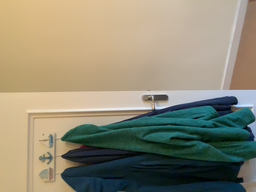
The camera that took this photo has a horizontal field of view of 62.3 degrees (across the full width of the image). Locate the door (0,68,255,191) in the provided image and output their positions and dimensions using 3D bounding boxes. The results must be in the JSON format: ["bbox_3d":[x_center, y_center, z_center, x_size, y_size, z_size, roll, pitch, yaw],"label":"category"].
[{"bbox_3d":[0.150,0.300,1.430,0.180,2.070,0.920,145,124,-75],"label":"door"}]
